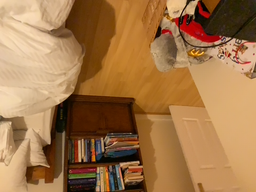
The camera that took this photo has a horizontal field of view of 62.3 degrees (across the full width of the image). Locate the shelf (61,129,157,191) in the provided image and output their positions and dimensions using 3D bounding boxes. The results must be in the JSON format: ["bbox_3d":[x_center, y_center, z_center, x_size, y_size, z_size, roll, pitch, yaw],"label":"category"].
[{"bbox_3d":[-0.190,0.640,1.780,0.680,0.610,0.370,3,144,-20],"label":"shelf"}]
